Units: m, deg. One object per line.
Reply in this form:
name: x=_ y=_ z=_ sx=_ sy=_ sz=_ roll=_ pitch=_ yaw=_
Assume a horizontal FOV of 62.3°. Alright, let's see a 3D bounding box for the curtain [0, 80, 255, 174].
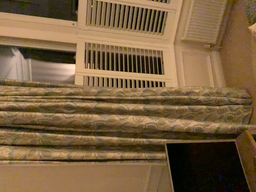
curtain: x=-0.170 y=0.250 z=1.800 sx=0.340 sy=2.860 sz=0.630 roll=-147 pitch=61 yaw=-73
